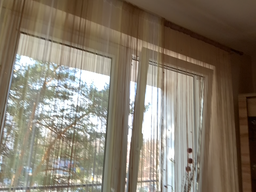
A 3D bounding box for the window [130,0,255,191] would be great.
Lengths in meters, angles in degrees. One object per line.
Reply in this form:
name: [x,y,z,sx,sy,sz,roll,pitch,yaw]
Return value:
window: [0.540,0.260,1.590,1.050,1.660,0.210,10,-14,-29]
